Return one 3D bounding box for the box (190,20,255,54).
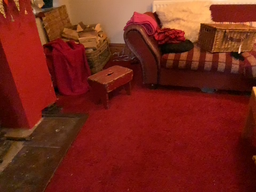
[{"bbox_3d":[1.010,-0.640,2.250,0.530,0.220,0.370,-11,30,-15],"label":"box"}]

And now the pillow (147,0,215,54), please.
[{"bbox_3d":[0.630,-0.910,2.570,0.590,0.530,0.160,40,38,-7],"label":"pillow"}]

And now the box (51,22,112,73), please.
[{"bbox_3d":[-0.650,-0.770,3.230,0.580,0.550,0.790,5,30,12],"label":"box"}]
